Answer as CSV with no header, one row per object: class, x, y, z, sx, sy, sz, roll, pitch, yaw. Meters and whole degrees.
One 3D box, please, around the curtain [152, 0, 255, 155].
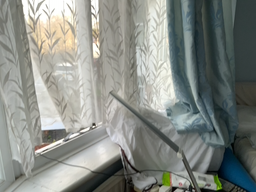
curtain,0.410,-0.480,1.060,0.460,1.450,0.280,-12,20,-35
